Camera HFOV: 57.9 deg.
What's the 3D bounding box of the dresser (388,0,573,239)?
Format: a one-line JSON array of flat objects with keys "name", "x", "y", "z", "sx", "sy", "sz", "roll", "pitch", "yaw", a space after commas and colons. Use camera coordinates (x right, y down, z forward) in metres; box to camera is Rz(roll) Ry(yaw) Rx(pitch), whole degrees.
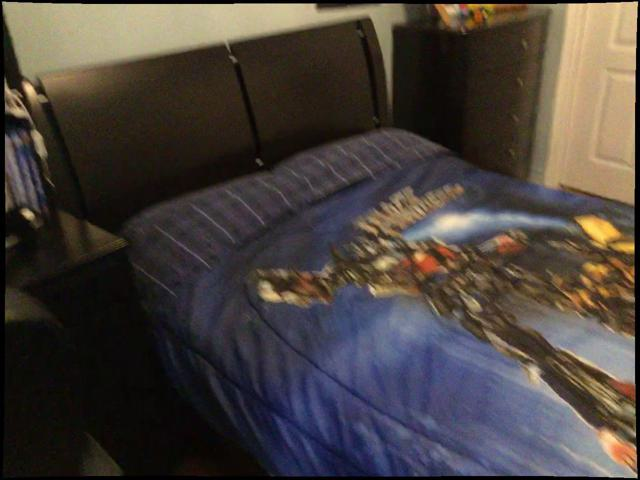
[{"name": "dresser", "x": 0.809, "y": -0.671, "z": 2.950, "sx": 0.460, "sy": 0.971, "sz": 0.920, "roll": 21, "pitch": 36, "yaw": 38}]
